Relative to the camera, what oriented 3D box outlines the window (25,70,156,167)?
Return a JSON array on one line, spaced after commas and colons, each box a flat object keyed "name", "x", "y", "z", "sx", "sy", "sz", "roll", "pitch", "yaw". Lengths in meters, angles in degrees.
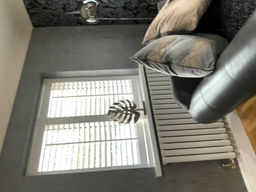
[{"name": "window", "x": -0.380, "y": 0.160, "z": 2.280, "sx": 0.050, "sy": 1.190, "sz": 1.090, "roll": 94, "pitch": 171, "yaw": -53}]
